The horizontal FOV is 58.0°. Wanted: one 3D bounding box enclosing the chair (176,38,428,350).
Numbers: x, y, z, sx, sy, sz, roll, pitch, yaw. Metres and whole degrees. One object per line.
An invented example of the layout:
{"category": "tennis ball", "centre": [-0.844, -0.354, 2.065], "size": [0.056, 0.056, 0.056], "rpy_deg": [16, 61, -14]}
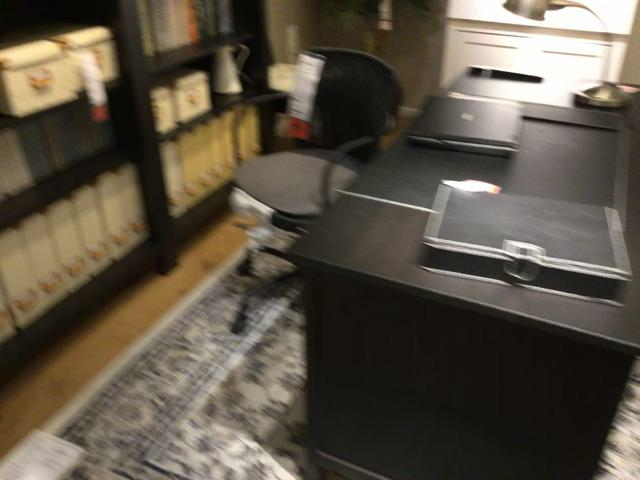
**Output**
{"category": "chair", "centre": [-0.040, -0.190, 1.950], "size": [0.550, 0.800, 0.530], "rpy_deg": [22, 37, 34]}

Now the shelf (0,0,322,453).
{"category": "shelf", "centre": [-0.720, -0.730, 1.850], "size": [0.600, 1.930, 1.860], "rpy_deg": [14, 34, 25]}
